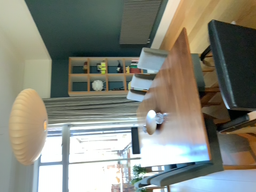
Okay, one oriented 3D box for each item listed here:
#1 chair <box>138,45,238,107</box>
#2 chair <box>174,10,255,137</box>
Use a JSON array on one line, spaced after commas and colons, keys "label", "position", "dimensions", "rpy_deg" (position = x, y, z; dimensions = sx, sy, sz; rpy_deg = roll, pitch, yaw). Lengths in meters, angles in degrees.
[{"label": "chair", "position": [0.620, -0.210, 2.390], "dimensions": [0.450, 0.910, 0.530], "rpy_deg": [108, 159, -69]}, {"label": "chair", "position": [0.820, -0.100, 1.400], "dimensions": [0.590, 0.790, 0.600], "rpy_deg": [110, 158, -69]}]
